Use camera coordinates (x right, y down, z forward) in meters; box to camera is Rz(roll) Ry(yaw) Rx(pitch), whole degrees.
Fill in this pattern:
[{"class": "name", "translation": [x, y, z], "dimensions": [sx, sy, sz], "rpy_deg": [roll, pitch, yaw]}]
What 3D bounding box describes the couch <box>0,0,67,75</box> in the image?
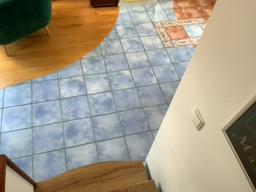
[{"class": "couch", "translation": [-1.520, -1.040, 2.730], "dimensions": [0.810, 0.830, 1.030], "rpy_deg": [40, 61, 20]}]
